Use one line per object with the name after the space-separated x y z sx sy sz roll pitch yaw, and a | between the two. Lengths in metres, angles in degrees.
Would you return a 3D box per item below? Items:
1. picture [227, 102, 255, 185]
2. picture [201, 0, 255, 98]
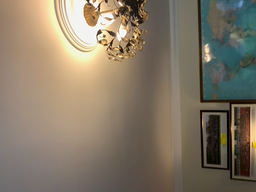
1.560 0.640 2.860 0.020 0.400 1.120 -18 -74 -65 | picture
1.420 -0.720 2.710 0.040 0.910 1.490 -17 -75 -66 | picture
